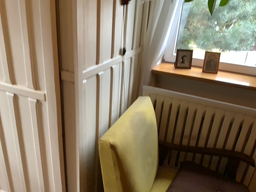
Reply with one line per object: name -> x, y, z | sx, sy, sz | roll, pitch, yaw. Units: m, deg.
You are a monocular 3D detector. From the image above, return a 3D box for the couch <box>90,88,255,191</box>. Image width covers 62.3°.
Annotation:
couch -> 0.330, 0.600, 1.400 | 0.860, 0.950, 0.810 | 13, 25, 17

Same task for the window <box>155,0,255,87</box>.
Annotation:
window -> 0.770, -0.710, 1.660 | 0.950, 1.140, 0.220 | 14, 25, 20
